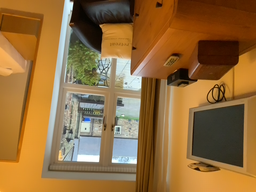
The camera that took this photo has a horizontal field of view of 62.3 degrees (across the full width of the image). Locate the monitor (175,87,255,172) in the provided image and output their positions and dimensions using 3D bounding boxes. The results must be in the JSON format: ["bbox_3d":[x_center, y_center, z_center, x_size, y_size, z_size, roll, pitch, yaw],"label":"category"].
[{"bbox_3d":[0.470,0.180,1.270,0.040,0.370,0.700,6,173,-13],"label":"monitor"}]
